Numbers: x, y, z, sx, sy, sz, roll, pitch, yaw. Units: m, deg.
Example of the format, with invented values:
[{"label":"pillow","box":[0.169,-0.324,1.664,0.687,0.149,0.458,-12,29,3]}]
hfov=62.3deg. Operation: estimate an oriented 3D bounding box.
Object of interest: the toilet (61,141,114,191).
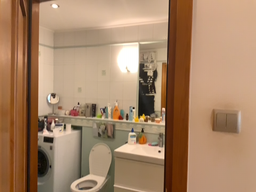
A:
[{"label":"toilet","box":[-0.470,1.020,2.560,0.380,0.800,0.550,2,2,23]}]
